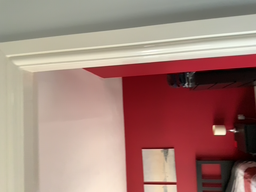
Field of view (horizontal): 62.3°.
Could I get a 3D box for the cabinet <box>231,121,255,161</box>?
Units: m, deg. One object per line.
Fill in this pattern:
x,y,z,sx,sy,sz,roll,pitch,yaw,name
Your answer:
1.960,0.670,3.260,0.550,0.540,0.500,9,-102,-79,cabinet
